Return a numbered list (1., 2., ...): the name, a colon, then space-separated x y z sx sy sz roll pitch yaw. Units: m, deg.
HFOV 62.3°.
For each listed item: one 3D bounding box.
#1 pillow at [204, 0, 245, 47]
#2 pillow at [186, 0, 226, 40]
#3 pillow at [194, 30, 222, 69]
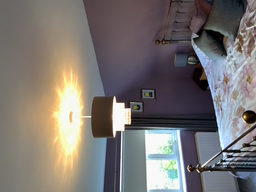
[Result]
1. pillow: 1.020 -0.850 2.310 0.400 0.180 0.480 -89 -1 -49
2. pillow: 0.960 -1.050 2.700 0.470 0.280 0.440 89 180 -60
3. pillow: 1.020 -0.580 2.740 0.430 0.190 0.350 87 -177 -79
